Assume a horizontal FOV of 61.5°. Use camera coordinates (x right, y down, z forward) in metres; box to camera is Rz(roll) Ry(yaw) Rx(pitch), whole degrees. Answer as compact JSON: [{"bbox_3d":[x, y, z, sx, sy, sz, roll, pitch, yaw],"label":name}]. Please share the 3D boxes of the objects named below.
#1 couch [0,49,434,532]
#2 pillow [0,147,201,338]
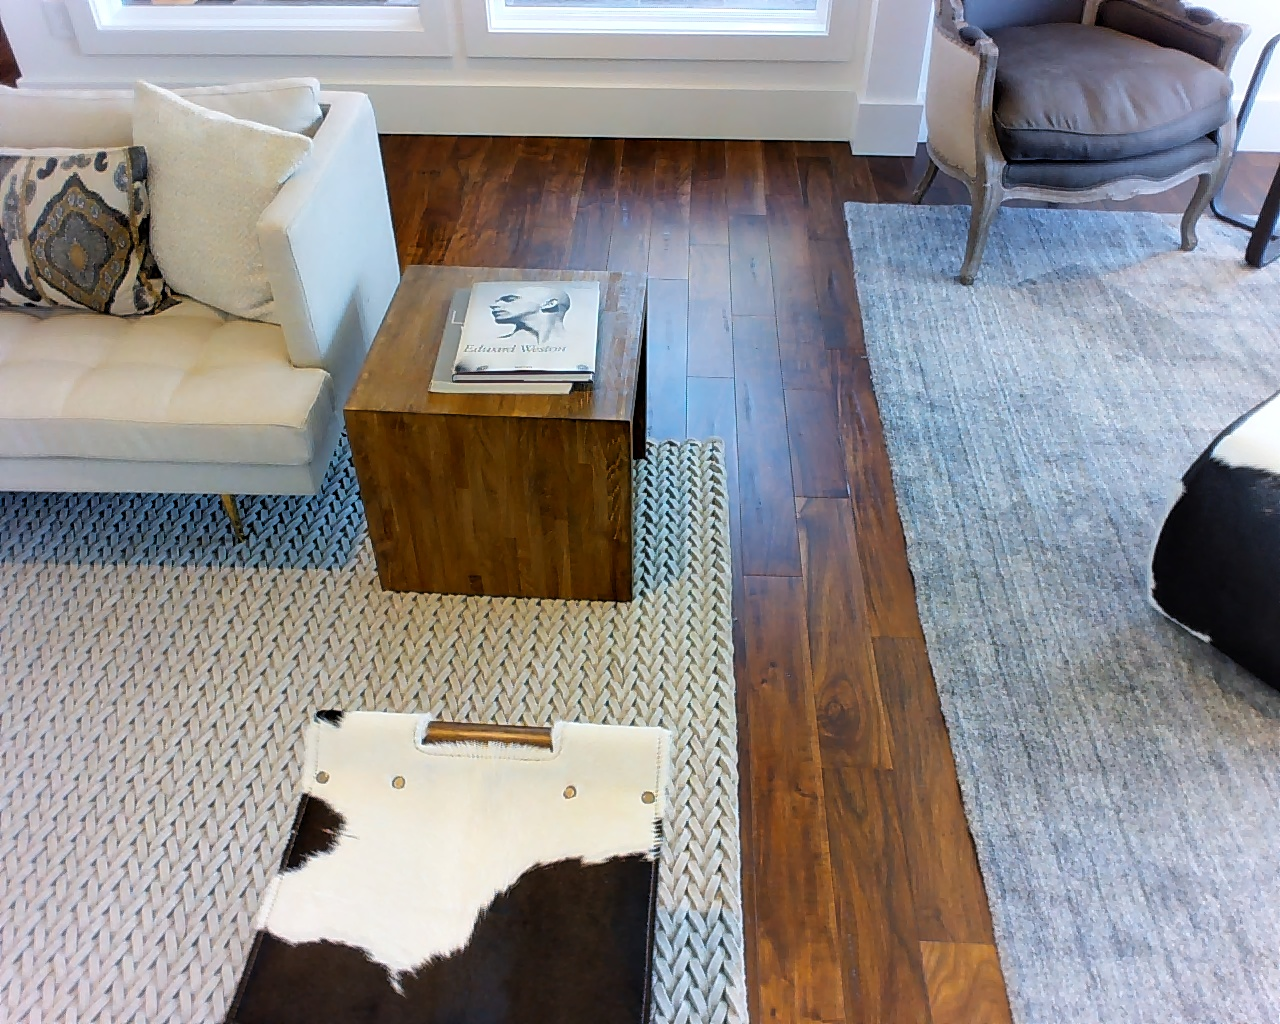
[{"bbox_3d":[-1.380,-0.490,2.170,1.700,0.570,0.880,2,41,2],"label":"couch"},{"bbox_3d":[-1.230,-0.530,2.100,0.640,0.340,0.190,1,17,2],"label":"pillow"}]
